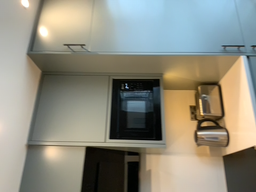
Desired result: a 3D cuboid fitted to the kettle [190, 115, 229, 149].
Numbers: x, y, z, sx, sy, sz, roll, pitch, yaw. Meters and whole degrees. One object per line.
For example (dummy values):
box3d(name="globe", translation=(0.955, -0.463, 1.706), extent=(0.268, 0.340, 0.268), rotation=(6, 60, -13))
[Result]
box3d(name="kettle", translation=(0.660, 0.300, 1.750), extent=(0.190, 0.240, 0.230), rotation=(86, -174, -68))

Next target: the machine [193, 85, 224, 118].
box3d(name="machine", translation=(0.700, 0.050, 1.870), extent=(0.180, 0.190, 0.240), rotation=(86, -174, -69))
